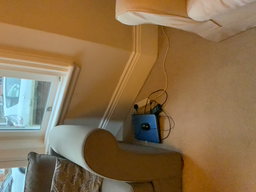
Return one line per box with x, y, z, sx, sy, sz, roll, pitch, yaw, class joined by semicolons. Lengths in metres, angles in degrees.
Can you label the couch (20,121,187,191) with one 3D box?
-0.280;1.020;1.660;1.080;0.950;1.600;-8;80;58;couch
